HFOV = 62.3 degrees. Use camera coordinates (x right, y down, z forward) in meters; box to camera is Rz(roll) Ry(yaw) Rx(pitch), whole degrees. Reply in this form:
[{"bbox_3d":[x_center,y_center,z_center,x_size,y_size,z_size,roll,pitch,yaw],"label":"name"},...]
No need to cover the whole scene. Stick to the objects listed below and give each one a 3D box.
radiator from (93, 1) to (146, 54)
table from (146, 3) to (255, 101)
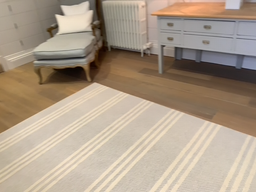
[{"bbox_3d":[-0.140,-1.130,3.460,0.880,0.740,0.180,19,38,35],"label":"radiator"},{"bbox_3d":[1.060,-0.560,2.390,1.570,0.780,0.660,18,38,33],"label":"table"}]
